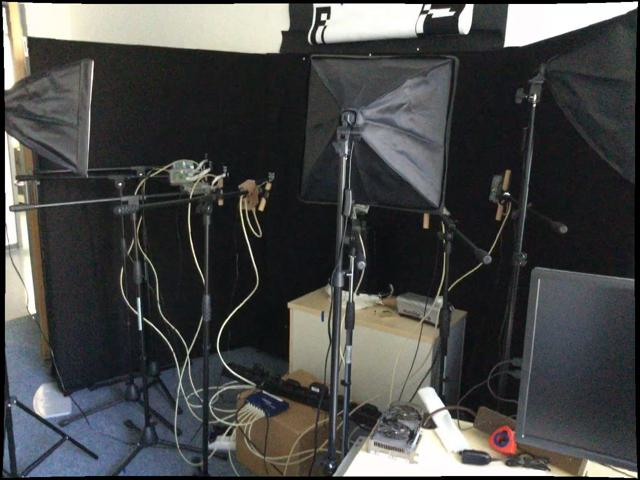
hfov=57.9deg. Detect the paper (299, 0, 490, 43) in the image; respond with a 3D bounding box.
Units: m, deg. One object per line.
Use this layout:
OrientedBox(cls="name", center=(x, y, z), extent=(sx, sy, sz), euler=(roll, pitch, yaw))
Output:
OrientedBox(cls="paper", center=(0.320, -1.121, 2.710), extent=(0.919, 0.340, 0.130), euler=(9, 17, 31))
